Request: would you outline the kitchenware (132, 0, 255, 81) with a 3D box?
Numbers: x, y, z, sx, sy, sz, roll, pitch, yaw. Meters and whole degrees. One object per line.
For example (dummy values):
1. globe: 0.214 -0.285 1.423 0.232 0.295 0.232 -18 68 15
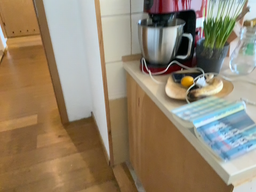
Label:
1. kitchenware: 0.280 -0.360 1.060 0.400 0.360 0.410 -12 33 -17
